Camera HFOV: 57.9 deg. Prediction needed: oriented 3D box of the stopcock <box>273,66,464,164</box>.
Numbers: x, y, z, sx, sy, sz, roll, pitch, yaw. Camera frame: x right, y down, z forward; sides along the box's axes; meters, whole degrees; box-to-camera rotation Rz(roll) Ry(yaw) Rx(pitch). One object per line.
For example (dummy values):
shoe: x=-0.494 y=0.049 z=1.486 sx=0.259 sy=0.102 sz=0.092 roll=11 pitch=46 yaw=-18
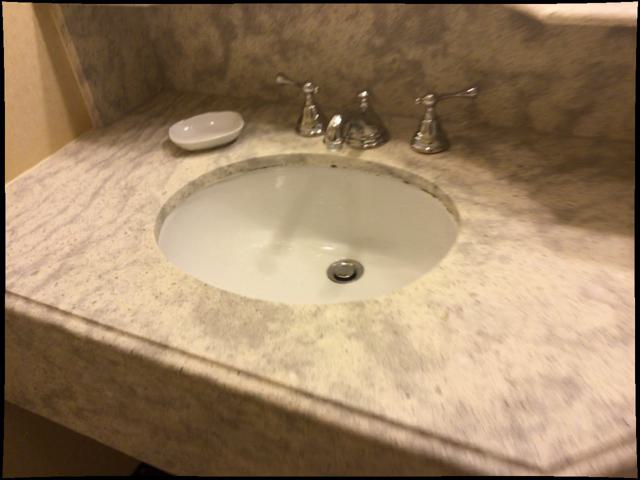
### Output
stopcock: x=0.080 y=-0.210 z=0.940 sx=0.270 sy=0.080 sz=0.140 roll=11 pitch=41 yaw=24
